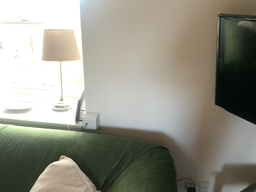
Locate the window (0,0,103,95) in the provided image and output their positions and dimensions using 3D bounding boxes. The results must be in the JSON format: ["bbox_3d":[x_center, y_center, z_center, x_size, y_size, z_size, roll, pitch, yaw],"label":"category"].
[{"bbox_3d":[-0.700,-0.560,1.670,1.010,1.080,0.050,5,21,9],"label":"window"}]
